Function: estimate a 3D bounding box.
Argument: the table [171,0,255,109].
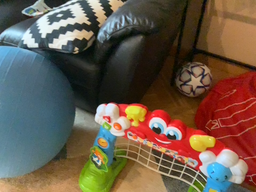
[{"bbox_3d":[0.830,-0.270,1.160,1.050,0.700,0.280,24,47,22],"label":"table"}]
